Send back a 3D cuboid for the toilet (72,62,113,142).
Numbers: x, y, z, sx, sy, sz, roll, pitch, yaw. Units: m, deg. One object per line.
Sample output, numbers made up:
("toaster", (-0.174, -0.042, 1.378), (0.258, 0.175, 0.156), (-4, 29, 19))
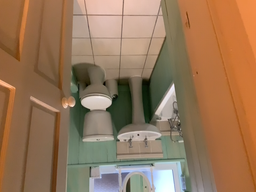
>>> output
("toilet", (-0.420, 0.100, 2.690), (0.430, 0.820, 0.680), (-2, 157, -5))
